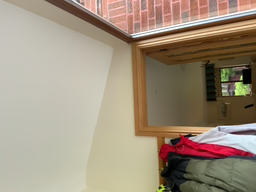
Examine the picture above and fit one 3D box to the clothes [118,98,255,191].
[{"bbox_3d":[0.620,0.540,1.570,0.630,1.080,0.820,58,-140,-43],"label":"clothes"}]
